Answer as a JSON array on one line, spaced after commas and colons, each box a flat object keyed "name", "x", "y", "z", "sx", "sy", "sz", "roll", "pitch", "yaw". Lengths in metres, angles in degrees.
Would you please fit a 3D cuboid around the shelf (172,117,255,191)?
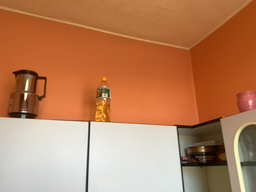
[{"name": "shelf", "x": 0.510, "y": 0.490, "z": 1.170, "sx": 0.320, "sy": 0.660, "sz": 0.390, "roll": 5, "pitch": -19, "yaw": -19}]
